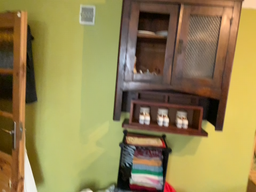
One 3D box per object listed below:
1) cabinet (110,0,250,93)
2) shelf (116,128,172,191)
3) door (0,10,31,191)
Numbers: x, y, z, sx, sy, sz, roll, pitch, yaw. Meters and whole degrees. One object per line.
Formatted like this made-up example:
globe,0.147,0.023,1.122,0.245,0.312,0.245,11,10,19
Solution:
cabinet,0.370,-0.430,1.720,0.930,0.690,0.370,6,6,3
shelf,0.100,0.900,1.860,0.390,1.130,0.390,6,6,3
door,-1.110,0.280,1.820,0.610,1.900,0.110,9,7,32
